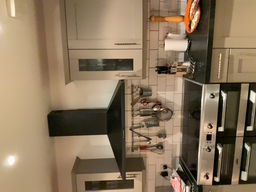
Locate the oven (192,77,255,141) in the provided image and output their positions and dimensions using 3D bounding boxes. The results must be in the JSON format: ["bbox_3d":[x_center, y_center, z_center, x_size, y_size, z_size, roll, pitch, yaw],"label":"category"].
[{"bbox_3d":[1.170,0.090,2.200,0.630,0.760,0.500,-105,15,-77],"label":"oven"}]

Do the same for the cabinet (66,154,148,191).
[{"bbox_3d":[-0.230,1.160,2.520,0.300,0.880,0.830,-105,15,-77],"label":"cabinet"}]

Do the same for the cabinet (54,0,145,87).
[{"bbox_3d":[-0.260,-0.700,2.100,0.300,0.820,1.170,-105,15,-77],"label":"cabinet"}]
